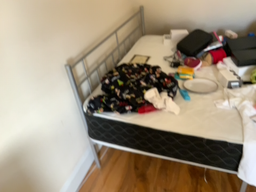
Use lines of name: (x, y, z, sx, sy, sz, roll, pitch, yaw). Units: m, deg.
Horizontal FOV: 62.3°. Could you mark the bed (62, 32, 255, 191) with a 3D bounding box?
bed: (0.850, 0.050, 1.640, 2.060, 0.580, 1.480, 6, 37, 19)
